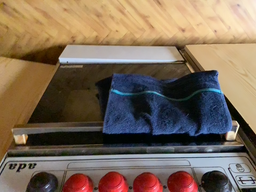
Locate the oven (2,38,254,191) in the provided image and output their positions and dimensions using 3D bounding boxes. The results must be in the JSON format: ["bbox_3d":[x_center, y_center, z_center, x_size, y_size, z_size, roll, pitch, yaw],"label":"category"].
[{"bbox_3d":[-0.010,0.160,0.870,0.510,0.670,0.590,-1,123,-2],"label":"oven"}]
